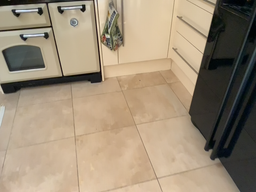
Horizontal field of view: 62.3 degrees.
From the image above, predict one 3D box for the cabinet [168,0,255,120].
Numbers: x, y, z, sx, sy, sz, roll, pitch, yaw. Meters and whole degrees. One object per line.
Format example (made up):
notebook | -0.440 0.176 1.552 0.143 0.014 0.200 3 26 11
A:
cabinet | 0.800 -0.420 1.710 0.640 0.920 0.680 -8 39 -10
